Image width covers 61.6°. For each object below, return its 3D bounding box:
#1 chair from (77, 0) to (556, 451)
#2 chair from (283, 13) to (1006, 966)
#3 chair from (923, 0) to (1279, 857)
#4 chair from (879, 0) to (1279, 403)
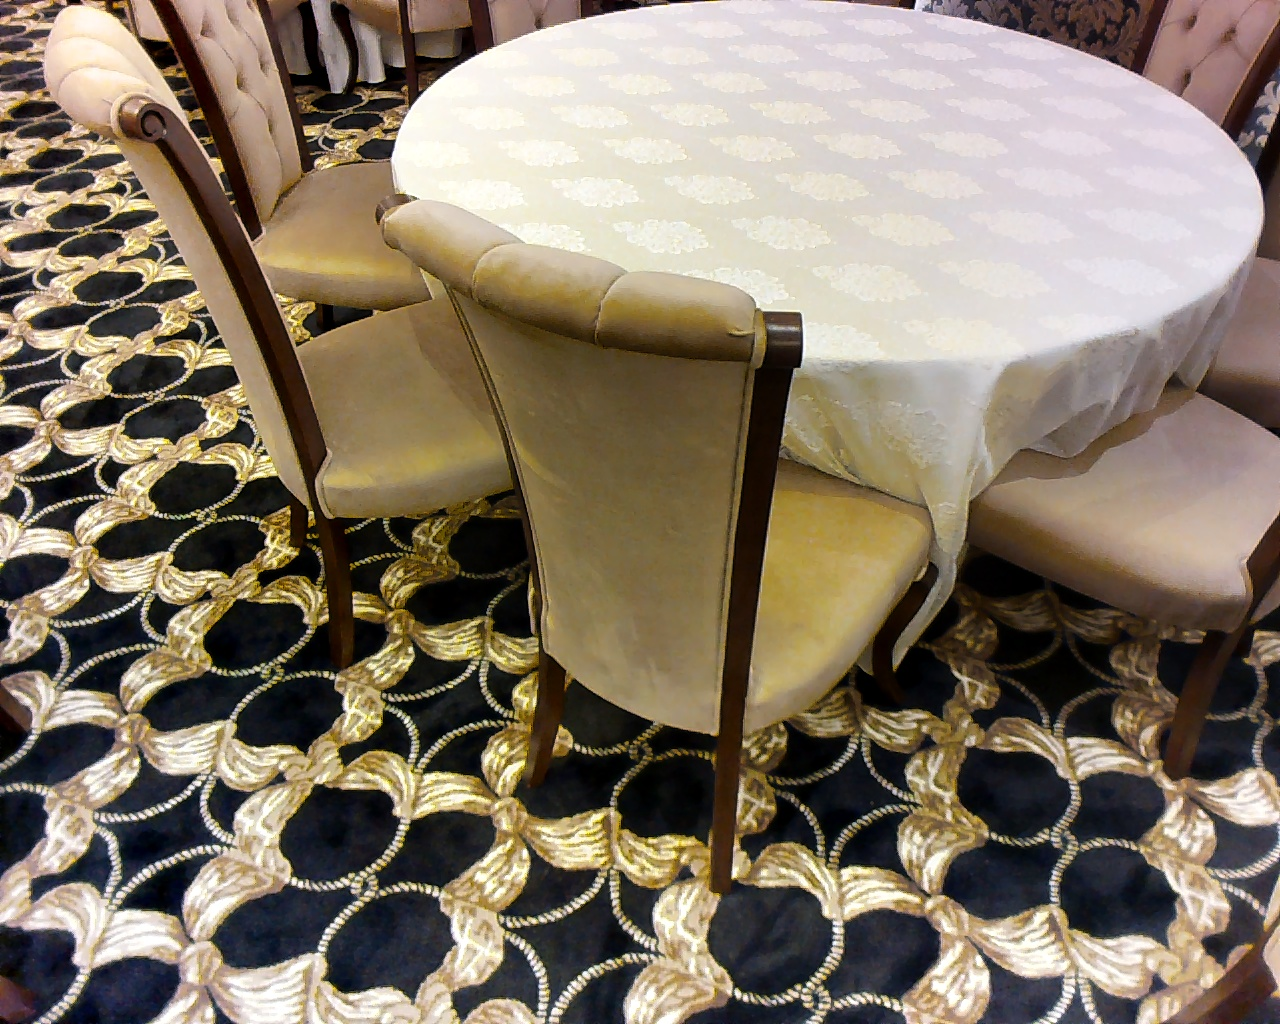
[{"bbox_3d":[-0.650,-0.800,2.450,0.720,1.080,0.590,10,42,11],"label":"chair"},{"bbox_3d":[0.050,-0.010,1.570,0.610,1.110,0.660,15,43,16],"label":"chair"},{"bbox_3d":[0.980,-0.130,1.700,0.620,1.070,0.600,-29,49,-29],"label":"chair"},{"bbox_3d":[1.210,-0.980,2.660,0.840,1.040,0.650,-20,45,-22],"label":"chair"}]
